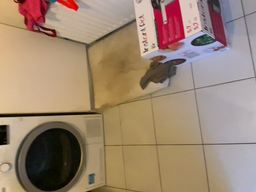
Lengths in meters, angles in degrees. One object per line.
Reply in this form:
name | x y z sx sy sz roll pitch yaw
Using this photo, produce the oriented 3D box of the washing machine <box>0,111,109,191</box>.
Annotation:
washing machine | -0.700 0.470 1.700 0.630 0.850 0.630 -12 80 41
